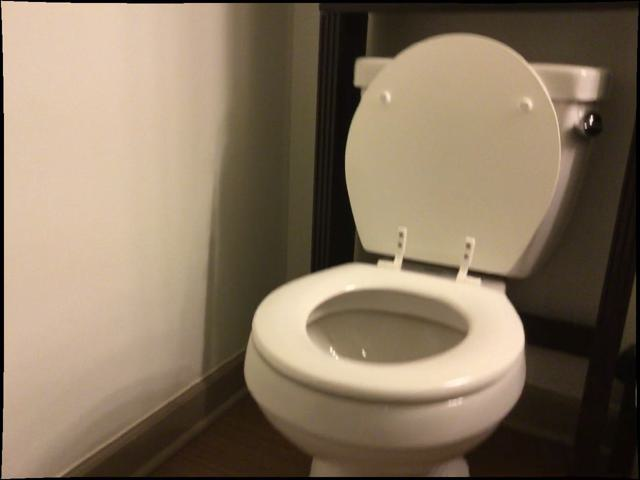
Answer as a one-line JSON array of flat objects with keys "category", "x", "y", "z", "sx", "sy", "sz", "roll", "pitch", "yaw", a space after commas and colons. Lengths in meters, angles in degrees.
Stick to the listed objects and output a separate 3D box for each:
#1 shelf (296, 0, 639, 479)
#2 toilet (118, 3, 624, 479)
[{"category": "shelf", "x": 0.309, "y": -0.431, "z": 1.020, "sx": 0.649, "sy": 1.724, "sz": 0.230, "roll": 12, "pitch": 21, "yaw": 27}, {"category": "toilet", "x": 0.140, "y": 0.080, "z": 0.920, "sx": 0.449, "sy": 0.802, "sz": 0.690, "roll": 12, "pitch": 21, "yaw": 27}]
